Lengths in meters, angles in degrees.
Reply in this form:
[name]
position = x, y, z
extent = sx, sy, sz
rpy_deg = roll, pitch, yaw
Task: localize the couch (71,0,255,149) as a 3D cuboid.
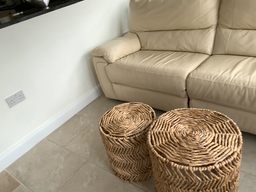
[couch]
position = 0.660, -0.380, 1.780
extent = 2.050, 0.950, 0.920
rpy_deg = 15, 41, 36
